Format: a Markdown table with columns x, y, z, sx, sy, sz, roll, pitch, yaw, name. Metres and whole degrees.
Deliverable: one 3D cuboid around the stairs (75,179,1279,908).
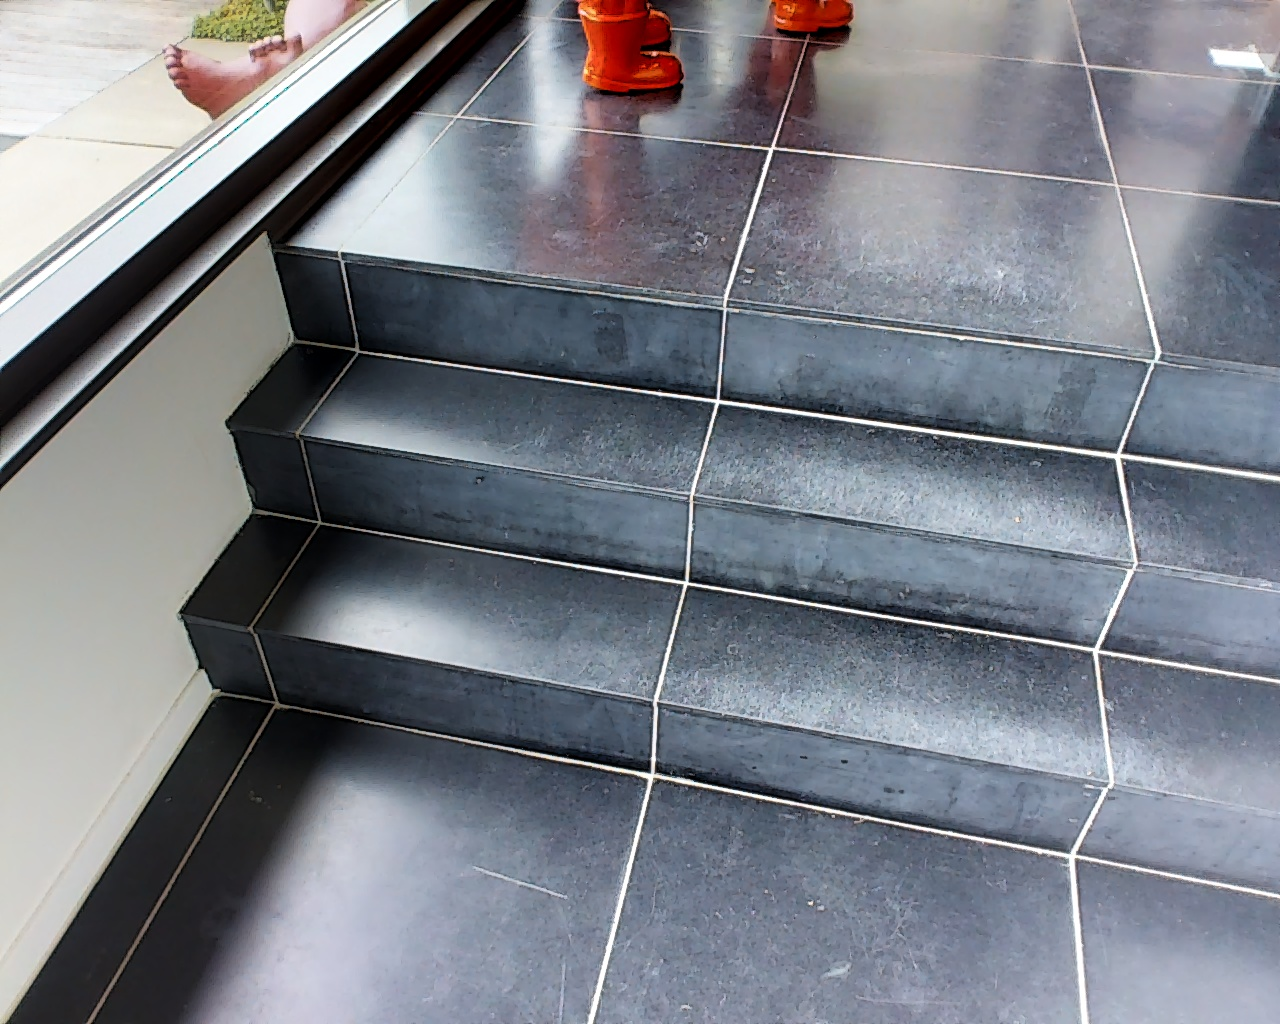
| x | y | z | sx | sy | sz | roll | pitch | yaw | name |
| --- | --- | --- | --- | --- | --- | --- | --- | --- | --- |
| 0.240 | 0.030 | 1.540 | 1.780 | 0.640 | 0.490 | 9 | 43 | 9 | stairs |
